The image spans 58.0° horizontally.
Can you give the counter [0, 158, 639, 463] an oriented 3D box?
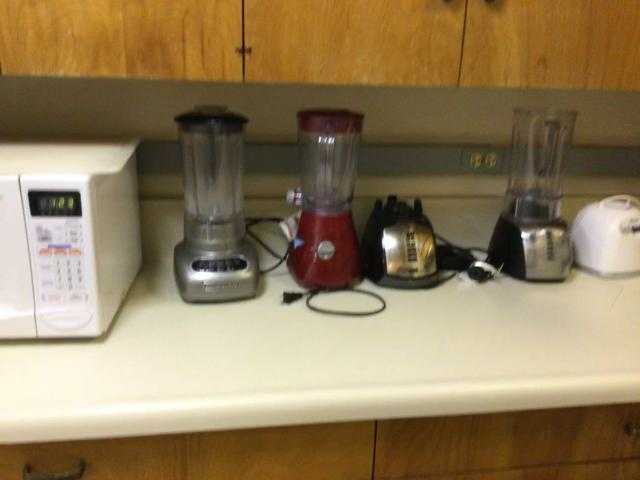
[{"bbox_3d":[0.410,0.050,1.190,2.720,0.310,0.680,0,17,-8],"label":"counter"}]
